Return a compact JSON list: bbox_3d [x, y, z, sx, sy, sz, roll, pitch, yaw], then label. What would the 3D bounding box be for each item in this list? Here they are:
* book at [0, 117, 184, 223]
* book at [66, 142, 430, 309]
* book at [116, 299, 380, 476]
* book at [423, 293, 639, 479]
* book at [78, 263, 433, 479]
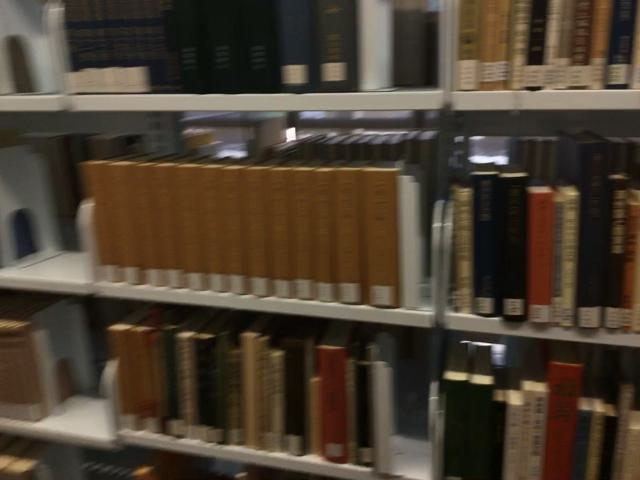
[{"bbox_3d":[-0.610,-0.180,1.440,0.530,0.240,0.070,3,16,11],"label":"book"},{"bbox_3d":[-0.110,-0.040,0.980,0.570,0.220,0.170,3,16,11],"label":"book"},{"bbox_3d":[-0.120,0.260,1.080,0.440,0.210,0.190,3,16,11],"label":"book"},{"bbox_3d":[0.490,0.300,0.970,0.610,0.320,0.220,3,16,11],"label":"book"},{"bbox_3d":[-0.100,0.290,1.110,0.600,0.400,0.240,3,16,11],"label":"book"}]
